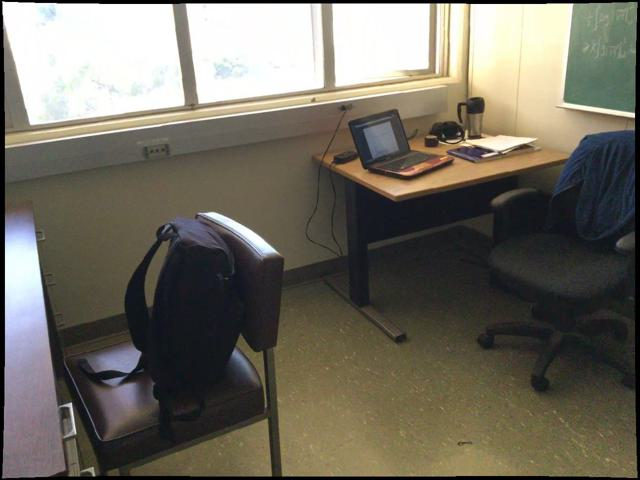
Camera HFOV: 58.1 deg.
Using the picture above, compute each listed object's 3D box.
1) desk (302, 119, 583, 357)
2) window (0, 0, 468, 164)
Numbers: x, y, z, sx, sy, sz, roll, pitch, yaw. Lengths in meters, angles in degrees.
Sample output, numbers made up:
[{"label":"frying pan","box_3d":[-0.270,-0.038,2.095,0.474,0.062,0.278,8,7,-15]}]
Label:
[{"label":"desk","box_3d":[0.559,-0.090,2.800,0.978,0.732,0.810,-15,25,-24]},{"label":"window","box_3d":[-0.698,-1.103,2.340,3.114,1.313,0.270,-15,25,-24]}]
